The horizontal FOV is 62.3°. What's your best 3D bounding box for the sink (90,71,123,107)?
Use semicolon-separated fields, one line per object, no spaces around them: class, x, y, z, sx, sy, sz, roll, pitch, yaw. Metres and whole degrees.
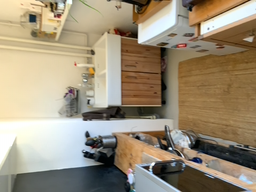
sink;-0.290;-0.080;2.650;0.750;0.170;0.390;-178;90;-65

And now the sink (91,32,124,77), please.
sink;-0.280;-0.480;2.660;0.750;0.170;0.410;177;94;-65
